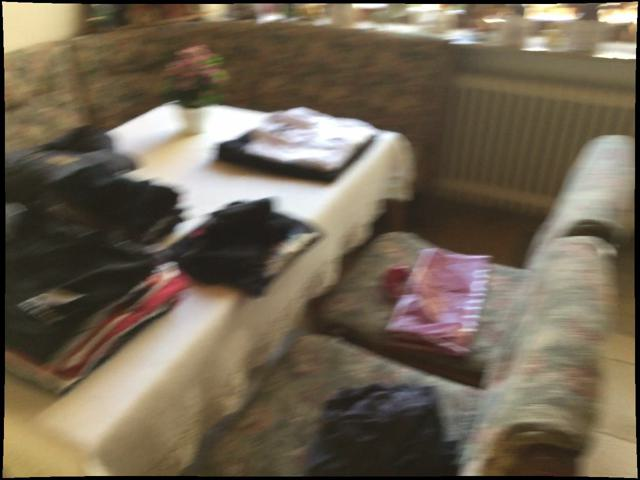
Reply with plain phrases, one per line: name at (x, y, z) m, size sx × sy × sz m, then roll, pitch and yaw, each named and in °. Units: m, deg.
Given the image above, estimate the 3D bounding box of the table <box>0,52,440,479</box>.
table at (-0.400, 0.130, 1.640) m, size 0.969 × 0.821 × 1.530 m, roll 15°, pitch 36°, yaw 23°
